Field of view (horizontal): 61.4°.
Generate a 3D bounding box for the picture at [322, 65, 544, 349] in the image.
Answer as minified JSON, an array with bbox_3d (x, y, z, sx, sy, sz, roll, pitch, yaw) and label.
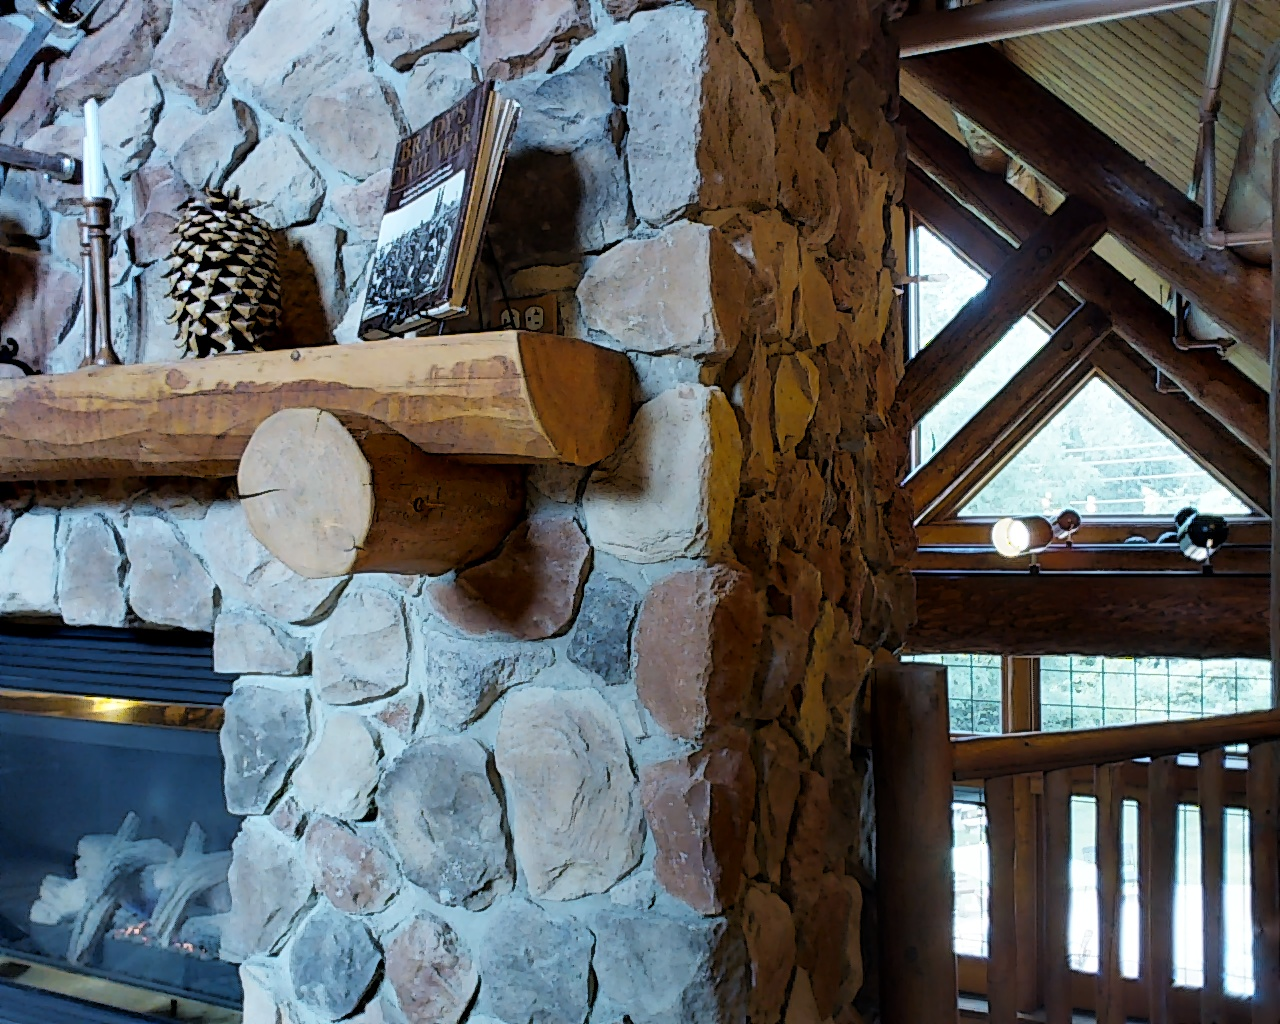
[{"bbox_3d":[-0.280,-0.400,1.410,0.090,0.320,0.280,7,10,-44],"label":"picture"}]
